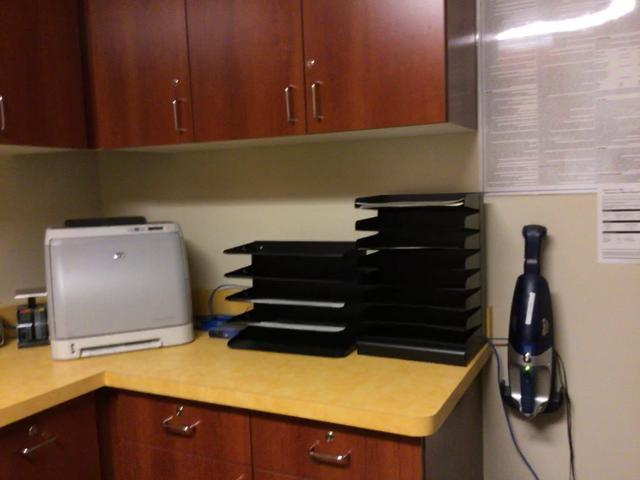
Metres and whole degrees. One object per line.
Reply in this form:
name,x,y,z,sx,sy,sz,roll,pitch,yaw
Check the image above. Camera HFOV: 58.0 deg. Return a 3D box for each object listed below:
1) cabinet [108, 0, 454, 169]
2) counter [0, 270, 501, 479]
cabinet,-0.160,-0.490,1.590,1.010,0.490,0.110,-2,3,28
counter,-0.800,0.360,0.810,1.510,0.290,2.790,-2,3,28
